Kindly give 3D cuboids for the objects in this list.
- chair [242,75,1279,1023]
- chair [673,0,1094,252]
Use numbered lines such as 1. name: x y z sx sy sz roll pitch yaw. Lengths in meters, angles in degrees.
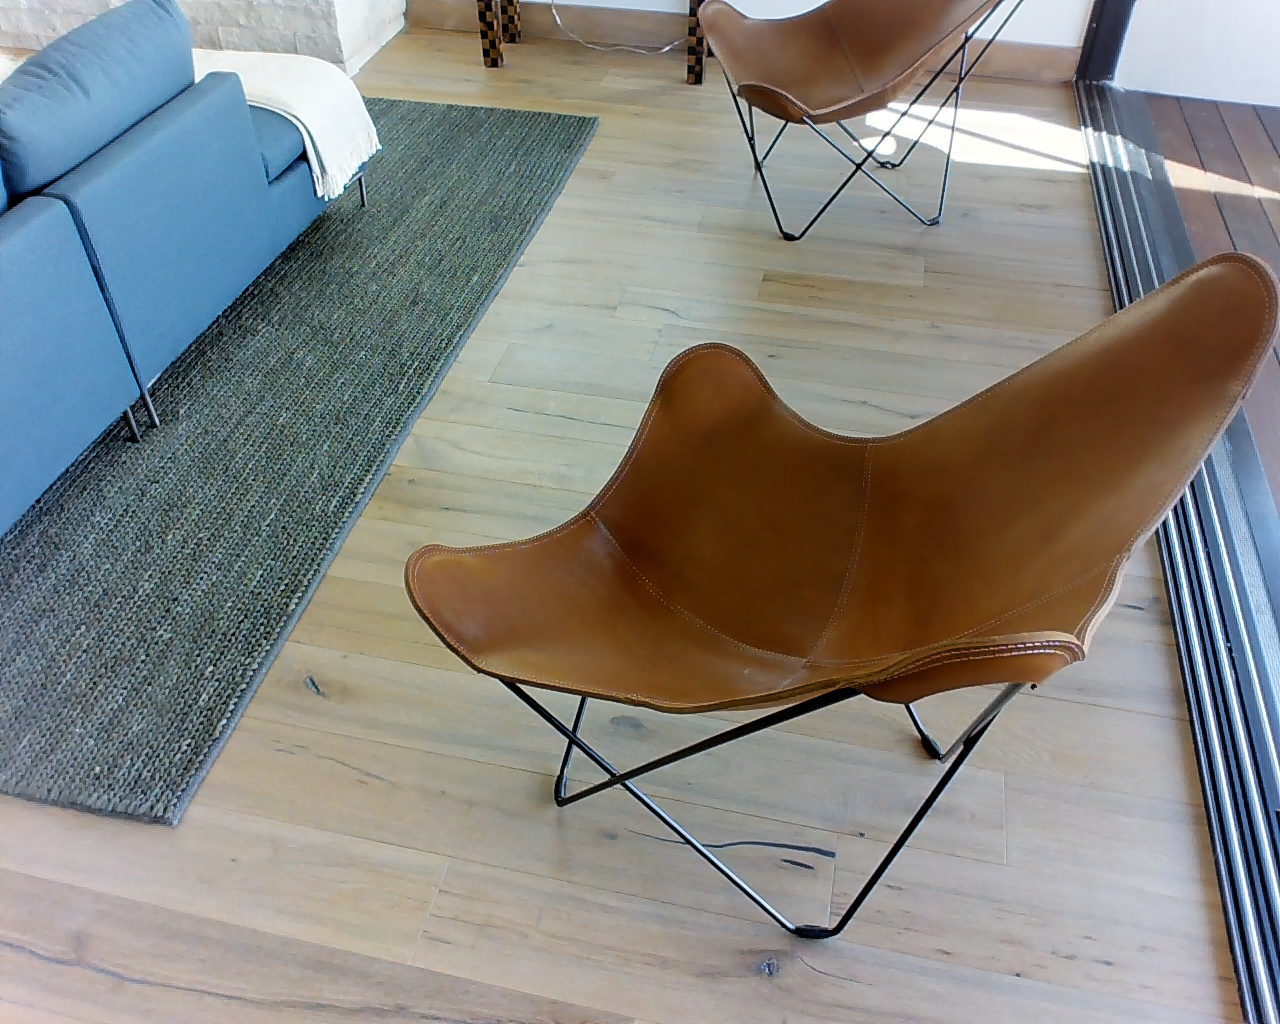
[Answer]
1. chair: 0.210 0.100 1.560 0.910 0.970 0.930 28 49 27
2. chair: 0.660 -1.430 3.230 0.960 0.910 0.830 -6 43 -7
